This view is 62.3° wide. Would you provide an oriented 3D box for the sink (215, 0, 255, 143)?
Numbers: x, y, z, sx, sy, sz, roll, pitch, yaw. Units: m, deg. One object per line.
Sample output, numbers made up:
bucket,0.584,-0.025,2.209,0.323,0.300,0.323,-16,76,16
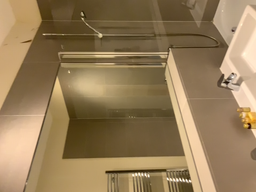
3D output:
sink,0.750,-0.020,1.040,0.470,0.160,1.030,93,175,-46
